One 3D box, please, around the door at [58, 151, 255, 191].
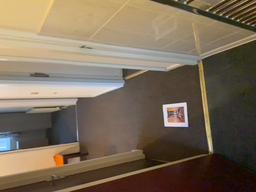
[{"bbox_3d":[0.030,0.510,0.770,0.750,1.990,0.030,15,104,55],"label":"door"}]
